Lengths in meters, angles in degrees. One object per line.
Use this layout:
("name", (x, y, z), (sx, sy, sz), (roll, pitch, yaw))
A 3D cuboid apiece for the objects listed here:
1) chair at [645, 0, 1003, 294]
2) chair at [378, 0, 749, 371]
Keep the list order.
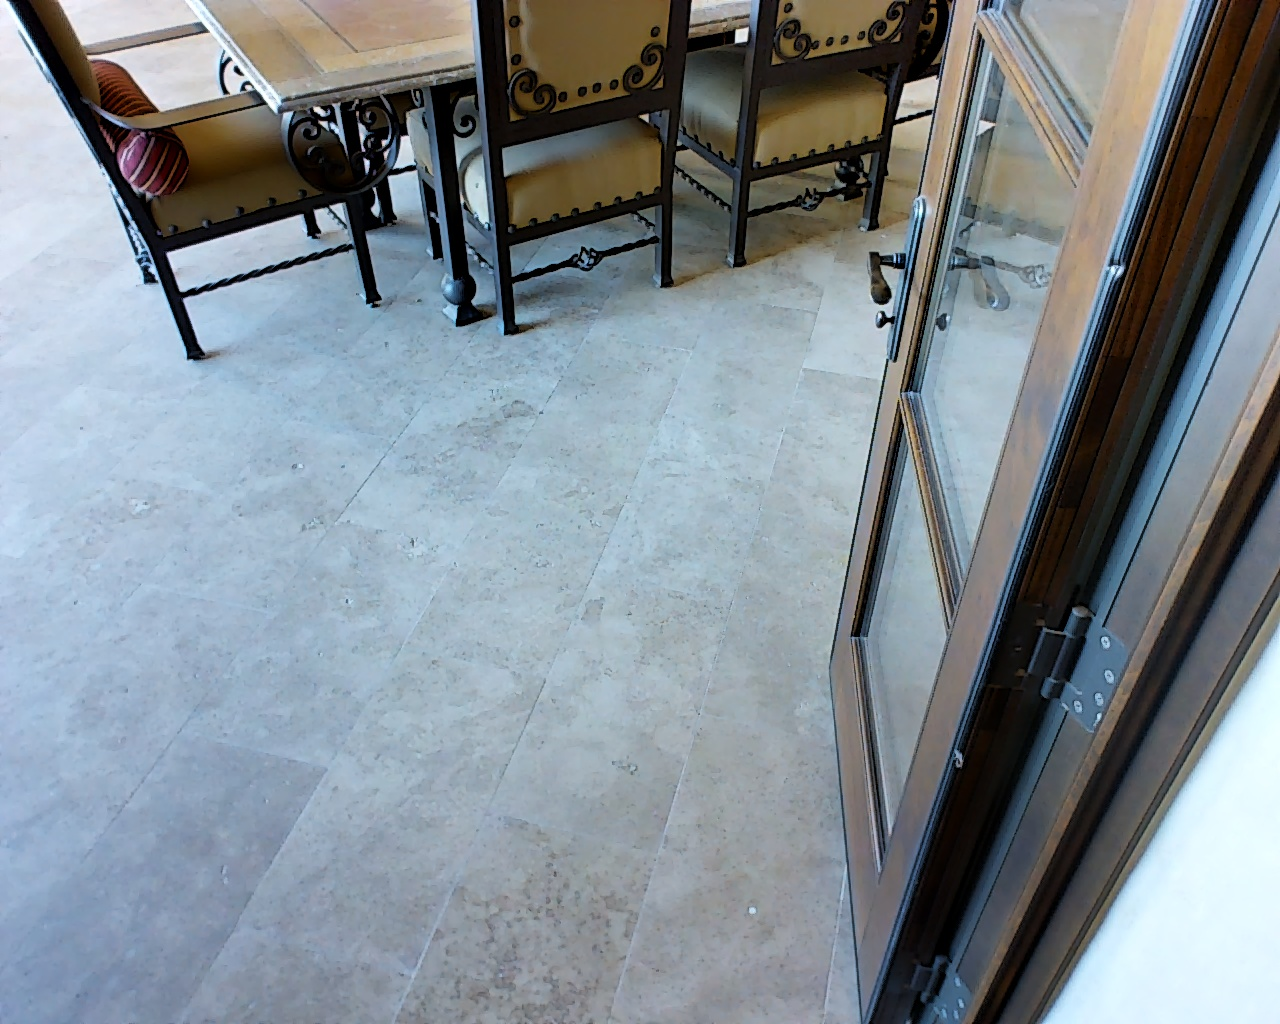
("chair", (0.520, -1.440, 3.140), (0.790, 1.270, 0.650), (-20, 44, -21))
("chair", (-0.220, -1.190, 2.880), (0.720, 1.280, 0.720), (-20, 44, -21))
